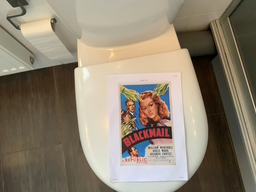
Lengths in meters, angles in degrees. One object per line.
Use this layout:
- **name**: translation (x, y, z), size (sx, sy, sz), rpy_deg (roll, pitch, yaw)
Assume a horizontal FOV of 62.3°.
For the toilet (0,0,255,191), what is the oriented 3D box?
- **toilet**: translation (0.020, -0.040, 0.620), size (0.390, 0.790, 0.590), rpy_deg (-11, 80, -1)
